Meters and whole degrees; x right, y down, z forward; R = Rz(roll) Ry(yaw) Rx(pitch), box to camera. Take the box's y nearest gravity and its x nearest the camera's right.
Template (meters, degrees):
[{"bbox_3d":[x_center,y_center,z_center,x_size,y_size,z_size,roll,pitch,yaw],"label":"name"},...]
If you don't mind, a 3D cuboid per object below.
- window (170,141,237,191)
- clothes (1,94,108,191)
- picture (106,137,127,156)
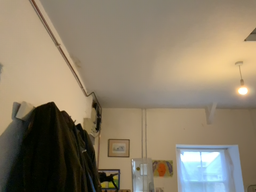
[{"bbox_3d":[1.450,1.580,4.090,1.190,1.400,0.060,-1,-17,2],"label":"window"},{"bbox_3d":[-0.420,0.760,1.700,0.340,1.140,1.520,0,-17,1],"label":"clothes"},{"bbox_3d":[-0.210,0.950,4.000,0.400,0.360,0.020,1,-17,-2],"label":"picture"}]
